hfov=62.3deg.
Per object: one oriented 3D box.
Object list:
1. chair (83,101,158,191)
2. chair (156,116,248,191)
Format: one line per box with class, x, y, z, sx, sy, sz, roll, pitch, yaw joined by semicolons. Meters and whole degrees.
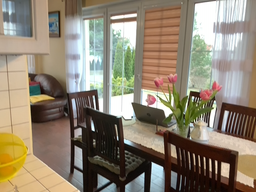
chair;-0.080;0.590;2.060;0.460;0.960;0.520;12;15;38
chair;0.530;0.710;1.580;0.460;0.960;0.520;10;14;34
